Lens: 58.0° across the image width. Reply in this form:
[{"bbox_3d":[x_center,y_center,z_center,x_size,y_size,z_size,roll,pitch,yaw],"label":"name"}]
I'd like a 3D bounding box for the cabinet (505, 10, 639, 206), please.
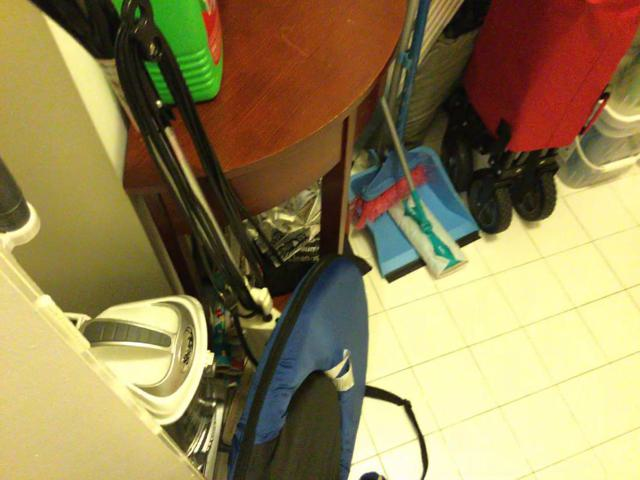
[{"bbox_3d":[0.740,-0.340,1.520,0.290,0.340,0.300,-17,63,-11],"label":"cabinet"}]
